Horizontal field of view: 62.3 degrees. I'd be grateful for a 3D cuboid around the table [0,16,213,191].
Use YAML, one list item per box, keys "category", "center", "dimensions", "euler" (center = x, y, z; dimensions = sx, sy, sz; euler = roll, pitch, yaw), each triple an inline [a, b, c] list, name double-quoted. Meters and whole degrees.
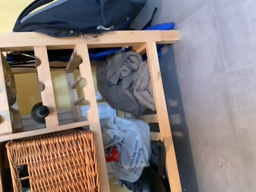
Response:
- category: "table"
  center: [-0.190, 0.230, 0.940]
  dimensions: [0.550, 0.840, 0.940]
  euler: [163, 98, -66]
